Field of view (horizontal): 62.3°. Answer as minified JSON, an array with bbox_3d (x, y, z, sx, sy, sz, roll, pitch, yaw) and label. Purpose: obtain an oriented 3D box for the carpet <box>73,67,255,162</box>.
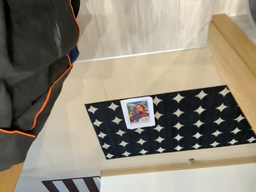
[{"bbox_3d":[0.340,0.190,1.580,1.280,0.060,0.760,-8,132,5],"label":"carpet"}]
